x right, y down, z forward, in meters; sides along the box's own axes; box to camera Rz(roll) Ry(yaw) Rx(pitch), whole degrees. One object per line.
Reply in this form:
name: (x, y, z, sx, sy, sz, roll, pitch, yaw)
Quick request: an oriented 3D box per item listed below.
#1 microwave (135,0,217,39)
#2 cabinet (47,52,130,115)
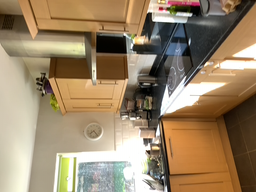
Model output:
microwave: (0.340, -0.730, 1.490, 0.600, 0.460, 0.290, 109, 160, -62)
cabinet: (-0.480, -0.090, 2.700, 1.030, 0.840, 0.320, 109, 160, -63)
